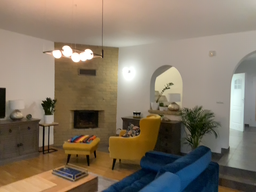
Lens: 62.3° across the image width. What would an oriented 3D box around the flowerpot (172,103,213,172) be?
[{"bbox_3d":[1.320,0.780,4.330,0.610,1.240,0.540,2,1,38],"label":"flowerpot"}]
